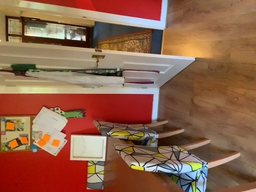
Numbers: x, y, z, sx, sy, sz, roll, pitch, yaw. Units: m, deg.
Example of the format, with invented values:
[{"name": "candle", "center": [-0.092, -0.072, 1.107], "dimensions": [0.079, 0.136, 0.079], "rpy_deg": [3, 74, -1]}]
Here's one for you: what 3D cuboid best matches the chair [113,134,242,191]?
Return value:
[{"name": "chair", "center": [0.380, 0.650, 1.710], "dimensions": [0.410, 0.890, 0.490], "rpy_deg": [-152, 64, -64]}]
